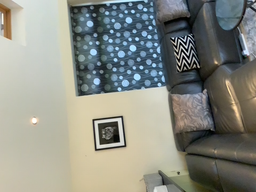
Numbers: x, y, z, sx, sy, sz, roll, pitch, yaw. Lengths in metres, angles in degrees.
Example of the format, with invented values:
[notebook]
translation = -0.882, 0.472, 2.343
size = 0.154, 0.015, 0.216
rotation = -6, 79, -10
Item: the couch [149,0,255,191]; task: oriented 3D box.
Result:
[couch]
translation = 0.900, -0.510, 2.690
size = 1.030, 0.780, 2.910
rotation = 106, 156, -79
